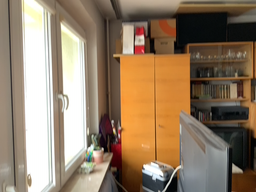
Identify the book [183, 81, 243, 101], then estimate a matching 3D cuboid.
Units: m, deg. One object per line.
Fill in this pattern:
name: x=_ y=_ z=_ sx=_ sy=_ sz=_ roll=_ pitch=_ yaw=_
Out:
book: x=1.180 y=-0.070 z=2.990 sx=0.760 sy=0.270 sz=0.190 roll=0 pitch=2 yaw=9
